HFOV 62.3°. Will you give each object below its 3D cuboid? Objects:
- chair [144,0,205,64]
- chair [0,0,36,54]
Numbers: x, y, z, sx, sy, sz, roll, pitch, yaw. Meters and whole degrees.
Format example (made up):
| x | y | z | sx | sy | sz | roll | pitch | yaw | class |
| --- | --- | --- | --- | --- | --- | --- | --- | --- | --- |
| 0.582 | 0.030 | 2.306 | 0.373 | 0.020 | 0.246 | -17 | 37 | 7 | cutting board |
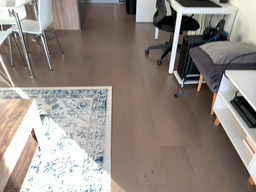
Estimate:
| x | y | z | sx | sy | sz | roll | pitch | yaw | class |
| --- | --- | --- | --- | --- | --- | --- | --- | --- | --- |
| 0.530 | -0.890 | 2.660 | 0.560 | 0.850 | 0.480 | 0 | 36 | -2 | chair |
| -1.570 | -1.070 | 2.820 | 0.390 | 0.880 | 0.470 | -4 | 36 | -8 | chair |
